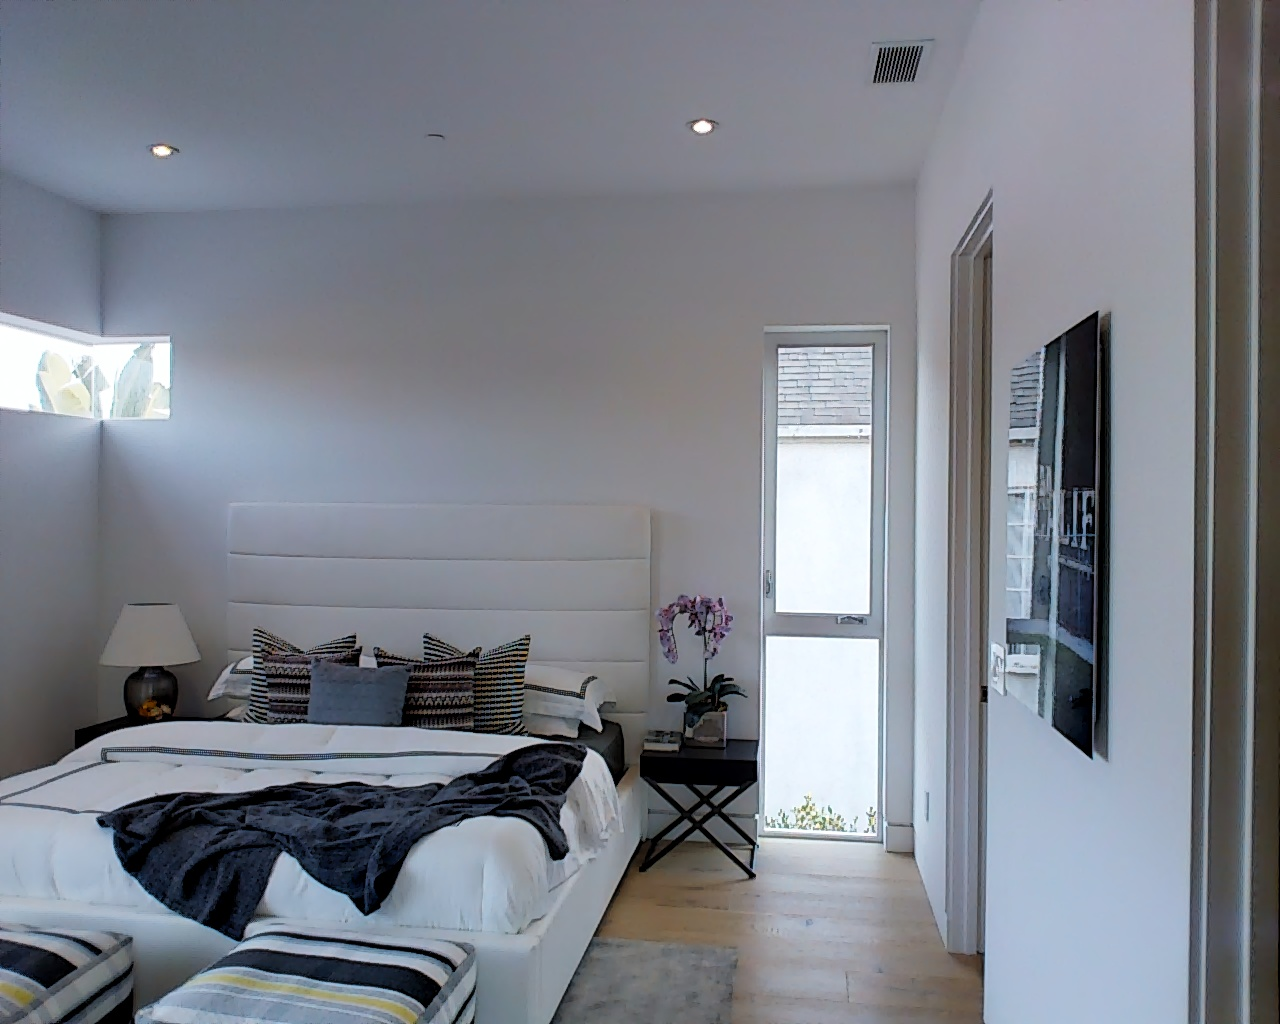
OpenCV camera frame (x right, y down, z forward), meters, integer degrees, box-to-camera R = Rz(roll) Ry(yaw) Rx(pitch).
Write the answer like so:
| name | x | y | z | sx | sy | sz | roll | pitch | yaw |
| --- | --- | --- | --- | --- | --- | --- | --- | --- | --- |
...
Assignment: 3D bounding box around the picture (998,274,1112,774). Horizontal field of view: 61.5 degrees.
| name | x | y | z | sx | sy | sz | roll | pitch | yaw |
| --- | --- | --- | --- | --- | --- | --- | --- | --- | --- |
| picture | 0.840 | 0.020 | 2.230 | 0.030 | 0.850 | 0.800 | 1 | 0 | 8 |
